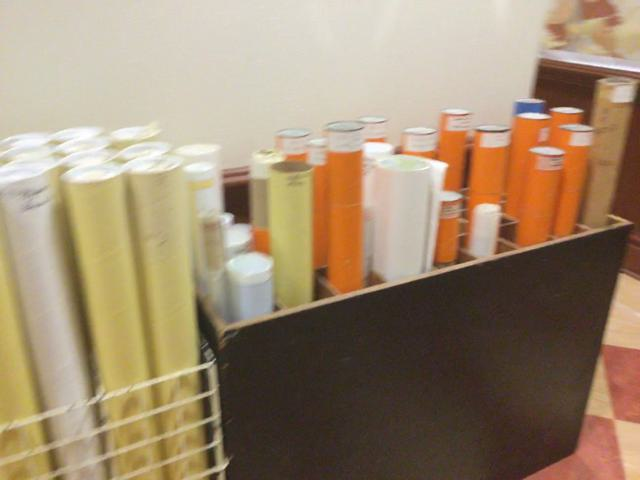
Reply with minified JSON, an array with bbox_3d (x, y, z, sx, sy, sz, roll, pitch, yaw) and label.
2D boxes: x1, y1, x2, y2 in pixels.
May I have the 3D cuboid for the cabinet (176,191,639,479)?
[{"bbox_3d":[0.310,0.410,1.500,1.240,0.830,0.190,-15,28,-28],"label":"cabinet"}]
